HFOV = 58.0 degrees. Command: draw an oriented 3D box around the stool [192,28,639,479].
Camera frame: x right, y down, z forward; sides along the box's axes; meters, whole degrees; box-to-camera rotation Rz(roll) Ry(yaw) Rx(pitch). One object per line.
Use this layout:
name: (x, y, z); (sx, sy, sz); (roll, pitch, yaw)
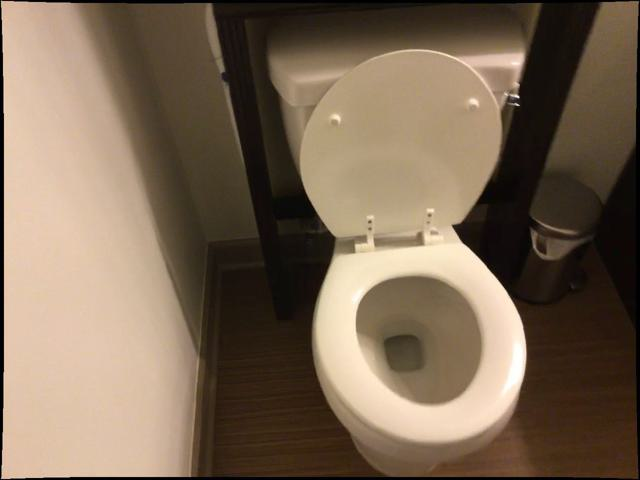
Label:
stool: (0.150, 0.130, 1.090); (0.539, 0.771, 0.621); (-1, 53, 2)
